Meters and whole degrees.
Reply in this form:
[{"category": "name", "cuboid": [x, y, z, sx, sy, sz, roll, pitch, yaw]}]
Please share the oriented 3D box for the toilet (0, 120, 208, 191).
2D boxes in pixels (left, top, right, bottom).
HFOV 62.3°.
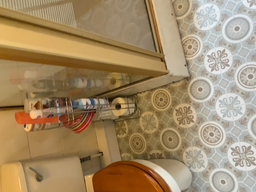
[{"category": "toilet", "cuboid": [-0.080, 0.480, 1.070, 0.670, 0.770, 0.510, -19, 80, 36]}]
